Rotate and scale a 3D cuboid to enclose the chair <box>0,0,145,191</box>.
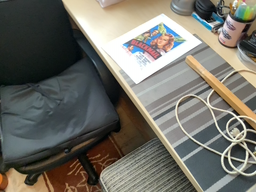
[{"bbox_3d":[-0.390,0.030,1.020,0.640,0.810,0.720,-22,61,-12],"label":"chair"}]
